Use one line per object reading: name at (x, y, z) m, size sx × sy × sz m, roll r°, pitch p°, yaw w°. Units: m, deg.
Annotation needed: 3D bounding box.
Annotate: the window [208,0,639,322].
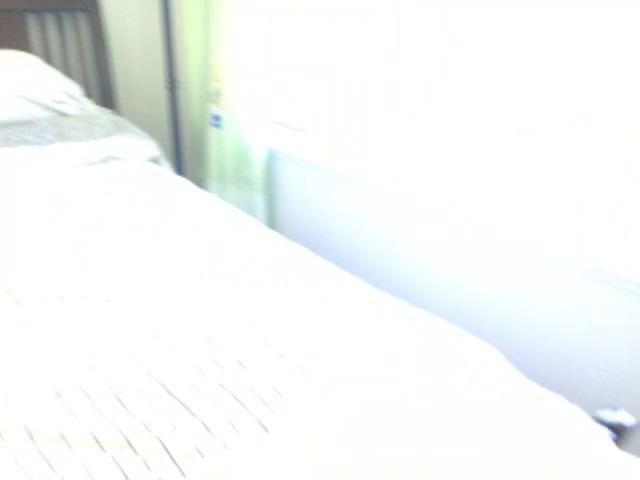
window at (0.230, -0.610, 1.600) m, size 0.190 × 1.060 × 1.980 m, roll -14°, pitch 27°, yaw -35°
